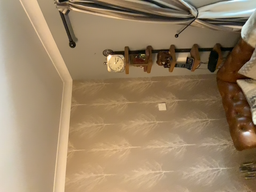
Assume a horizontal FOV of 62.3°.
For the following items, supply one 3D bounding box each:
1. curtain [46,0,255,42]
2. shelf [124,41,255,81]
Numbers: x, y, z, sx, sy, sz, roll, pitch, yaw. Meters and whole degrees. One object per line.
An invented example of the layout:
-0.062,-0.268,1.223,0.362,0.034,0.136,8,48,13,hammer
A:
0.250,-0.710,1.610,0.620,1.620,0.180,92,175,-64,curtain
0.790,-0.380,2.330,0.420,1.660,0.180,92,175,-64,shelf
